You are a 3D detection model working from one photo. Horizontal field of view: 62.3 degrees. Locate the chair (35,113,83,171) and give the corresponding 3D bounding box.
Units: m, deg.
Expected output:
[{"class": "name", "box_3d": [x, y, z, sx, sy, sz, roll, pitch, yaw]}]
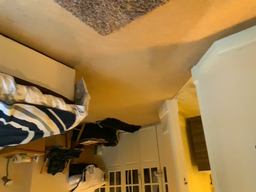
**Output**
[{"class": "chair", "box_3d": [-1.040, 0.730, 3.270, 0.480, 0.760, 0.460, -17, 154, 31]}]
